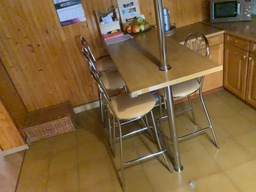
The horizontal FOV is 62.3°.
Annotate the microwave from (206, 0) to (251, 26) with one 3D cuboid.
[{"bbox_3d":[1.280,-1.090,2.710,0.450,0.270,0.360,11,38,35],"label":"microwave"}]

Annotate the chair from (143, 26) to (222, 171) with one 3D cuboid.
[{"bbox_3d":[0.490,0.060,1.850,0.450,1.150,0.360,-17,31,-6],"label":"chair"}]

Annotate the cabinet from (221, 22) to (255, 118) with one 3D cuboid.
[{"bbox_3d":[1.550,-0.280,2.320,0.560,0.830,0.900,-16,31,-6],"label":"cabinet"}]
